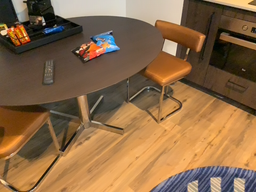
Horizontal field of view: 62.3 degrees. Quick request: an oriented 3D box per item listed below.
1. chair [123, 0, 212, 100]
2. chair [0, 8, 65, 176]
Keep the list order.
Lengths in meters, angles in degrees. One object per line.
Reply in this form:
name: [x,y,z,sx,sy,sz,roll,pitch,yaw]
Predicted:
chair: [0.280,-0.450,1.730,0.450,0.710,0.460,-31,49,-34]
chair: [-0.770,-0.040,1.180,0.470,0.720,0.510,23,43,25]
